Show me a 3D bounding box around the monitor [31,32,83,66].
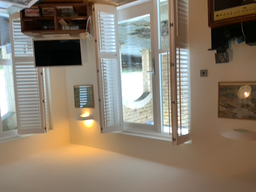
[{"bbox_3d":[-1.090,-0.720,3.260,0.740,0.490,0.040,-3,-175,-5],"label":"monitor"}]
